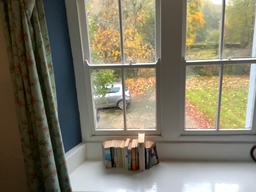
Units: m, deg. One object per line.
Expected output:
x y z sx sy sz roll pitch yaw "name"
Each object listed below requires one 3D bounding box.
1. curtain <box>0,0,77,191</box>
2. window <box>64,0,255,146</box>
-0.560 0.090 1.230 0.310 1.710 0.310 -3 16 0 "curtain"
0.300 -0.230 1.780 1.490 1.280 0.210 -2 16 2 "window"
